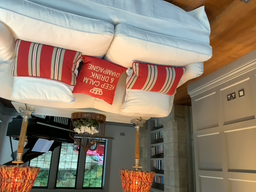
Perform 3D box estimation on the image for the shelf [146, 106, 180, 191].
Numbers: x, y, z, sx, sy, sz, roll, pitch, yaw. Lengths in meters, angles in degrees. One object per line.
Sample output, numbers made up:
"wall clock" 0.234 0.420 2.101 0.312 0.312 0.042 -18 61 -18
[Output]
"shelf" 0.880 1.420 5.610 0.410 2.090 1.050 8 162 -17
